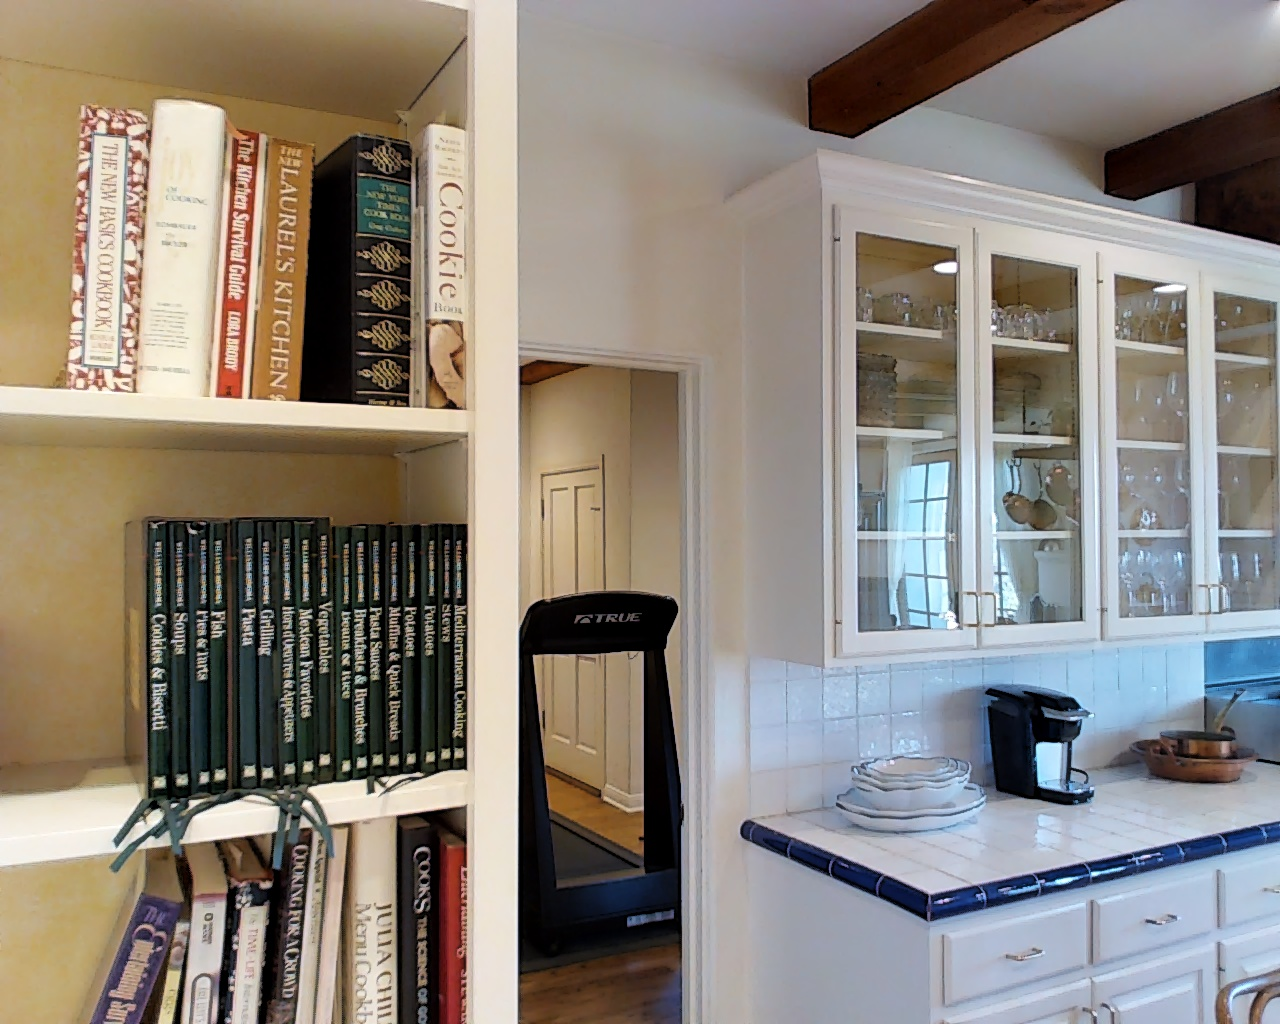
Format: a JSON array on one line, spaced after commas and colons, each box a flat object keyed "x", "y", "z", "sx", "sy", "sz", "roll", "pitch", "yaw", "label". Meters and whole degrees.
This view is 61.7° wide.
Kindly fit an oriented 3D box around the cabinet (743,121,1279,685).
[{"x": 1.170, "y": -0.230, "z": 2.920, "sx": 1.860, "sy": 1.230, "sz": 0.370, "roll": 1, "pitch": -1, "yaw": -27, "label": "cabinet"}]

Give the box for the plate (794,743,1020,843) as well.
[{"x": 0.650, "y": 0.680, "z": 2.640, "sx": 0.420, "sy": 0.130, "sz": 0.340, "roll": 0, "pitch": -1, "yaw": -24, "label": "plate"}]
